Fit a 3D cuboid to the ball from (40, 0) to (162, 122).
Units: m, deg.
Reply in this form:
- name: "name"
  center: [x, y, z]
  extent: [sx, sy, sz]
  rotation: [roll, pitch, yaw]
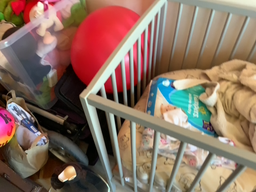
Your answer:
- name: "ball"
  center: [-0.090, -0.220, 1.100]
  extent: [0.360, 0.470, 0.430]
  rotation: [20, 54, 18]
